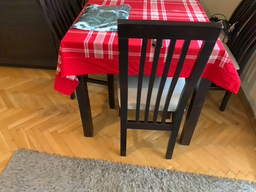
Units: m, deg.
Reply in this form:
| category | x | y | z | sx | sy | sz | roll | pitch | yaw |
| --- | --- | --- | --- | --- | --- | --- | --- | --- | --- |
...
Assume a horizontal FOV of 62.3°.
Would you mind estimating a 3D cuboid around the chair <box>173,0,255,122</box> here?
| category | x | y | z | sx | sy | sz | roll | pitch | yaw |
| --- | --- | --- | --- | --- | --- | --- | --- | --- | --- |
| chair | 0.710 | -0.340 | 1.590 | 0.570 | 0.990 | 0.440 | 8 | 41 | 6 |

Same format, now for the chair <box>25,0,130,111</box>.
| category | x | y | z | sx | sy | sz | roll | pitch | yaw |
| --- | --- | --- | --- | --- | --- | --- | --- | --- | --- |
| chair | -0.320 | -0.430 | 1.640 | 0.580 | 0.990 | 0.420 | 10 | 42 | 8 |

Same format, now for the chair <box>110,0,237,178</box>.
| category | x | y | z | sx | sy | sz | roll | pitch | yaw |
| --- | --- | --- | --- | --- | --- | --- | --- | --- | --- |
| chair | 0.140 | -0.060 | 1.240 | 0.410 | 1.000 | 0.600 | 3 | 41 | 0 |
